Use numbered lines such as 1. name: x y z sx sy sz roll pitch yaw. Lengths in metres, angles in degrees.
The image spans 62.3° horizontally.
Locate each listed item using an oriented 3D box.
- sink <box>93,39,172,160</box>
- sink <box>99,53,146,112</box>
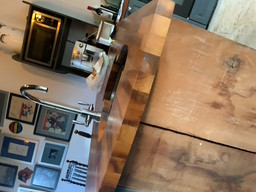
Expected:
1. sink: -0.010 -0.010 0.920 0.330 0.170 0.410 -112 39 -71
2. sink: -0.040 -0.080 1.160 0.180 0.170 0.250 -112 39 -71
